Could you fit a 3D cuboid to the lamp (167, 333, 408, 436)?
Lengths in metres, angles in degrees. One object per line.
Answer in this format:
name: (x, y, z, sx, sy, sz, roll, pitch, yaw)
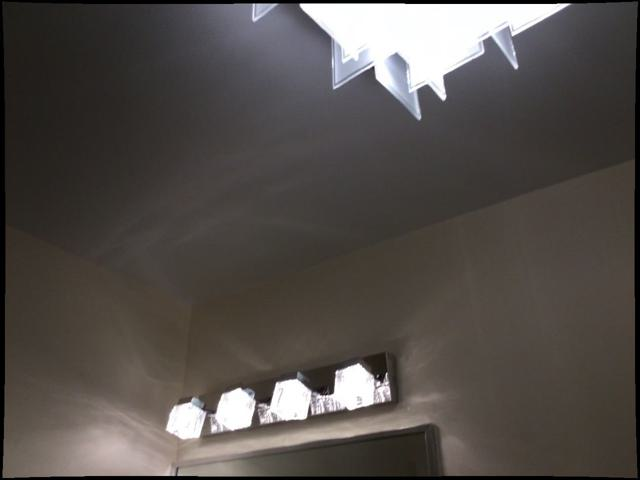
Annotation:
lamp: (-0.110, 0.380, 1.460, 0.680, 0.150, 0.090, -18, -31, 30)
